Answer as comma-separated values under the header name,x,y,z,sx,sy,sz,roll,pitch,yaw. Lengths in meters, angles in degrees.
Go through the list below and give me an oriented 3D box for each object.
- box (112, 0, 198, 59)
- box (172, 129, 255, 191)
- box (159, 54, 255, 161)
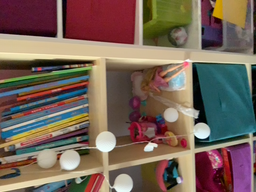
name,x,y,z,sx,sy,sz,roll,pitch,yaw
box,0.130,-0.500,1.240,0.460,0.280,0.490,4,96,62
box,0.460,0.380,1.060,0.290,0.350,0.350,-1,91,62
box,0.410,0.030,1.000,0.350,0.390,0.380,4,96,62
